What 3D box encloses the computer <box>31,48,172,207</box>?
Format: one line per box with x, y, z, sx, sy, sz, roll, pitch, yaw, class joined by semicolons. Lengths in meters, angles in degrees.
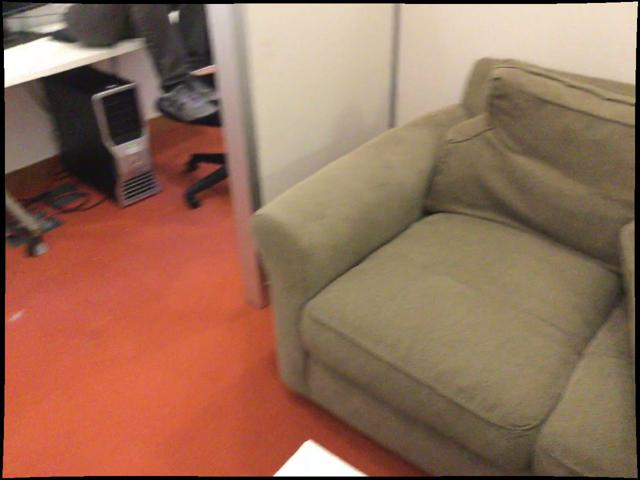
-0.999;-0.531;2.680;0.510;0.560;0.270;24;41;30;computer

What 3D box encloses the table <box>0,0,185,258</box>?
-1.209;-0.571;2.570;0.710;0.811;0.830;24;41;30;table

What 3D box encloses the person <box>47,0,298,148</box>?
-0.599;-1.061;2.340;0.790;1.051;0.630;20;39;26;person
